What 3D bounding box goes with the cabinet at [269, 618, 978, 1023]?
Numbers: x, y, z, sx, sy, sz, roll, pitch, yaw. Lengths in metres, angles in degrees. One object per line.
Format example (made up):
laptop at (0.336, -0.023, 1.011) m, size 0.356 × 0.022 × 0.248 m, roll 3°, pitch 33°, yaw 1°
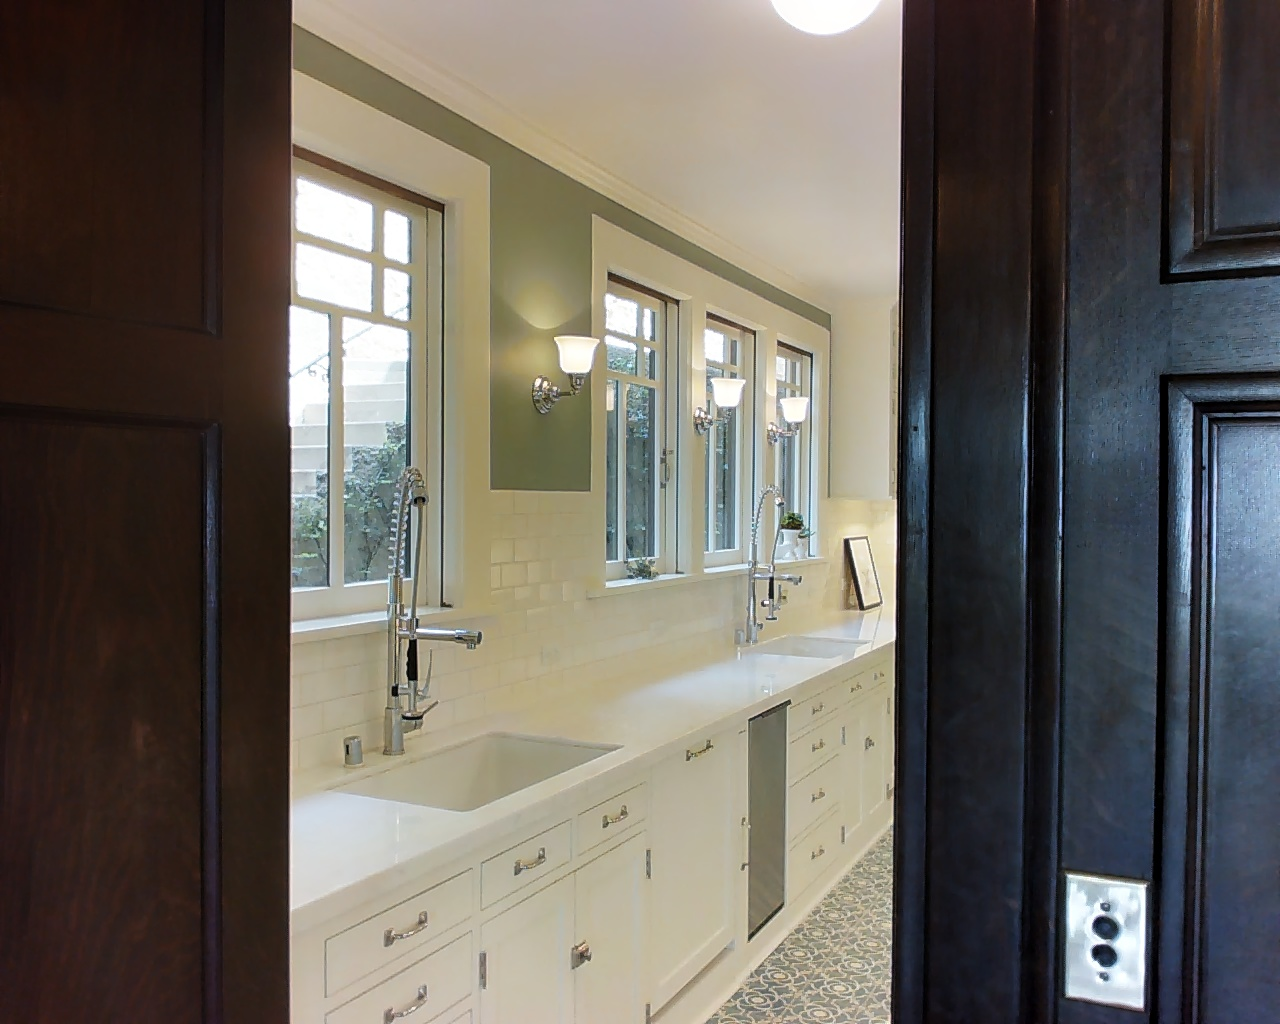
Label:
cabinet at (0.790, 1.110, 4.380) m, size 0.070 × 0.820 × 5.930 m, roll 1°, pitch 0°, yaw 27°
